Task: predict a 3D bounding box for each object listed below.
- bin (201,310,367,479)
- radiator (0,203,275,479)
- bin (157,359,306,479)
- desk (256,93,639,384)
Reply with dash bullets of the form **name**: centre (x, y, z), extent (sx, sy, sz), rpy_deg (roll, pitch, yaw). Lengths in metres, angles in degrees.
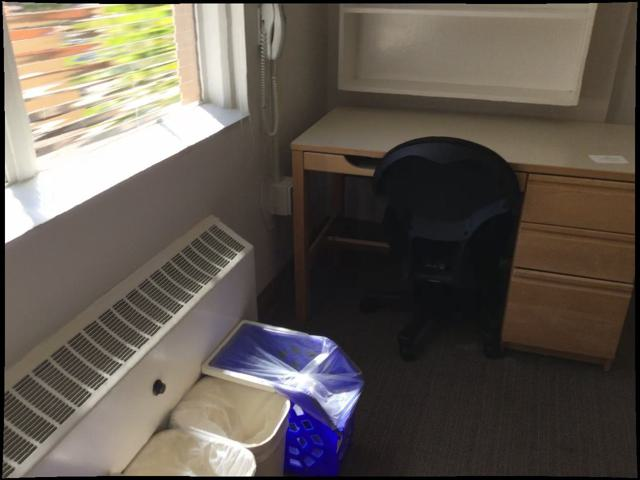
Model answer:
- **bin**: centre (-0.090, 0.481, 1.780), extent (0.399, 0.351, 0.310), rpy_deg (8, 30, 18)
- **radiator**: centre (-0.469, 0.401, 1.510), extent (0.200, 0.531, 1.200), rpy_deg (7, 30, 18)
- **bin**: centre (-0.229, 0.571, 1.610), extent (0.289, 0.331, 0.260), rpy_deg (7, 30, 18)
- **desk**: centre (0.549, -0.090, 2.390), extent (1.357, 0.782, 0.760), rpy_deg (8, 30, 18)
